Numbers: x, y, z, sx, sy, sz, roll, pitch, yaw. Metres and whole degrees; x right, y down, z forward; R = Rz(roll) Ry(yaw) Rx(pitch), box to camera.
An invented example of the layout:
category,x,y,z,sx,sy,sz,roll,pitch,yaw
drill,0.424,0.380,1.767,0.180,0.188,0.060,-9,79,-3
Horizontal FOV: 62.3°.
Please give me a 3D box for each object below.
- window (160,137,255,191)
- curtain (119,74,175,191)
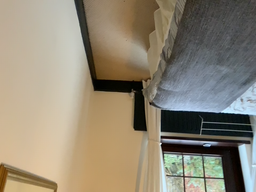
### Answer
category,x,y,z,sx,sy,sz,roll,pitch,yaw
window,0.920,1.210,2.330,1.090,1.480,0.050,3,155,-1
curtain,0.190,0.860,2.160,0.540,2.400,0.140,2,155,0
